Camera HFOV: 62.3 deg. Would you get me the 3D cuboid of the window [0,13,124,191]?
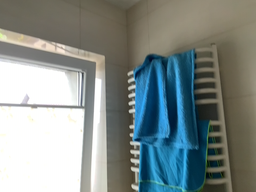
[{"bbox_3d":[-0.460,0.420,1.050,0.960,1.520,0.240,7,-13,-43],"label":"window"}]
